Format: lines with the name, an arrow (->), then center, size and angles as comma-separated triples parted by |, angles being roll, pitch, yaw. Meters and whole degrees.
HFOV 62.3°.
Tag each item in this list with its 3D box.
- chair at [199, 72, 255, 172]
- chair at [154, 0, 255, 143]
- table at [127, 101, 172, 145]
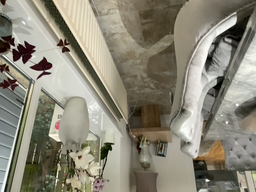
chair -> 1.320, 0.340, 2.550 | 0.670, 1.010, 0.670 | -4, 154, 7
chair -> 0.560, -0.300, 1.270 | 0.700, 0.990, 0.610 | -7, 153, 14
table -> 0.340, 0.450, 3.370 | 0.630, 0.520, 0.560 | -4, 154, 7
